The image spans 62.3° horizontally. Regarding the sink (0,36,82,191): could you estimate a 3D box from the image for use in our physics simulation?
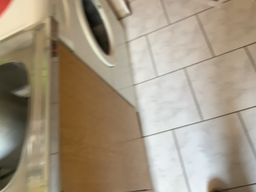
[{"bbox_3d":[-0.370,0.120,0.580,0.410,0.200,0.390,-17,65,15],"label":"sink"}]

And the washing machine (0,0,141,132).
[{"bbox_3d":[-0.390,-0.240,1.100,0.590,0.860,0.570,-17,65,15],"label":"washing machine"}]
